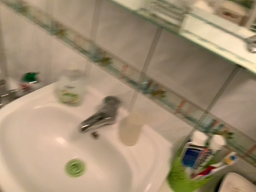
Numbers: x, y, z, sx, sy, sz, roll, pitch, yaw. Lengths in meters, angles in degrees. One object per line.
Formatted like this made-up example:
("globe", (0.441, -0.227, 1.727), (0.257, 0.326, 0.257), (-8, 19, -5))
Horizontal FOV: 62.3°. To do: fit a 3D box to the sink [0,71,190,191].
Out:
("sink", (-0.130, 0.180, 0.670), (0.510, 0.180, 0.360), (34, 41, 18))
